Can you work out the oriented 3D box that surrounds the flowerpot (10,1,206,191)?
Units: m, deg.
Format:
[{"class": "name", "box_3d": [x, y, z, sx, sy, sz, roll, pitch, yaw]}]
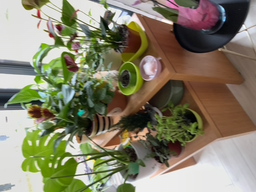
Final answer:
[{"class": "flowerpot", "box_3d": [-0.190, 0.110, 0.990, 0.690, 0.480, 0.620, -51, 53, 38]}]
